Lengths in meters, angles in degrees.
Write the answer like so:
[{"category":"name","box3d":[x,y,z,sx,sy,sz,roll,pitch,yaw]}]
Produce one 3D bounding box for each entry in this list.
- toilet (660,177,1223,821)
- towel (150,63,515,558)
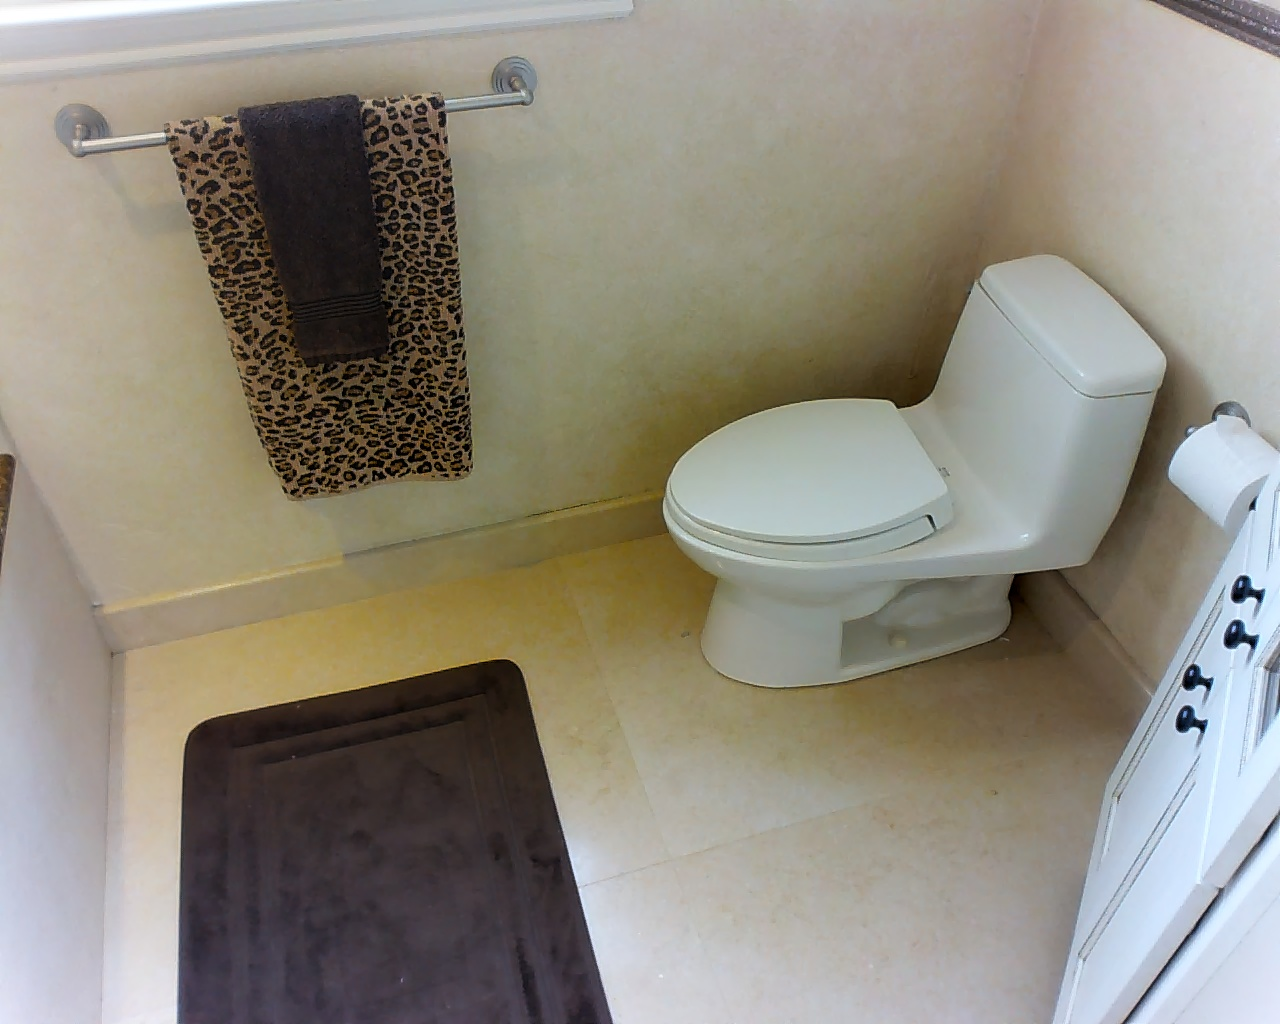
[{"category":"toilet","box3d":[0.420,-0.040,1.920,0.550,0.780,0.720,-12,44,-14]},{"category":"towel","box3d":[-0.450,-0.290,1.720,0.420,0.740,0.160,-12,43,-14]}]
